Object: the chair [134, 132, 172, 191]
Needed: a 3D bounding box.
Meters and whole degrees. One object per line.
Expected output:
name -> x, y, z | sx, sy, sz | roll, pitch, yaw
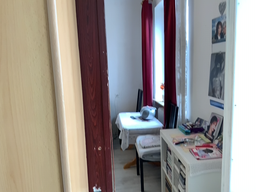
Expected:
chair -> 0.310, 0.830, 2.750 | 0.390, 0.560, 0.460 | -3, 9, -6
